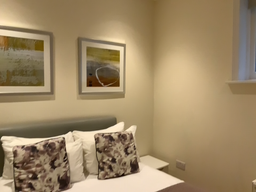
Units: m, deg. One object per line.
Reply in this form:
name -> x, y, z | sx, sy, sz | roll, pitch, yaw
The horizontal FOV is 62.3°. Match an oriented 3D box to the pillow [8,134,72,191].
pillow -> -0.660, 0.540, 1.650 | 0.410, 0.380, 0.100 | -15, 36, -31

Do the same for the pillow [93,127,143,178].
pillow -> -0.100, 0.540, 2.050 | 0.450, 0.400, 0.120 | -8, 29, -24

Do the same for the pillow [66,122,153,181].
pillow -> -0.200, 0.530, 2.250 | 0.710, 0.350, 0.590 | -2, 4, -37

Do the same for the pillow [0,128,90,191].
pillow -> -0.760, 0.540, 1.890 | 0.640, 0.350, 0.540 | -2, 4, -40
